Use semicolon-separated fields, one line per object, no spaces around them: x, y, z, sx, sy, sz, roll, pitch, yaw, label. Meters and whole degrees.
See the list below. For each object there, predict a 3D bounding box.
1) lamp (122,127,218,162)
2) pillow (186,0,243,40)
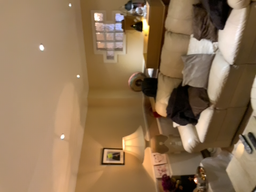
0.650;0.800;3.530;0.330;1.480;0.450;-95;5;-51;lamp
0.840;-0.950;2.110;0.580;0.290;0.490;95;174;-57;pillow
